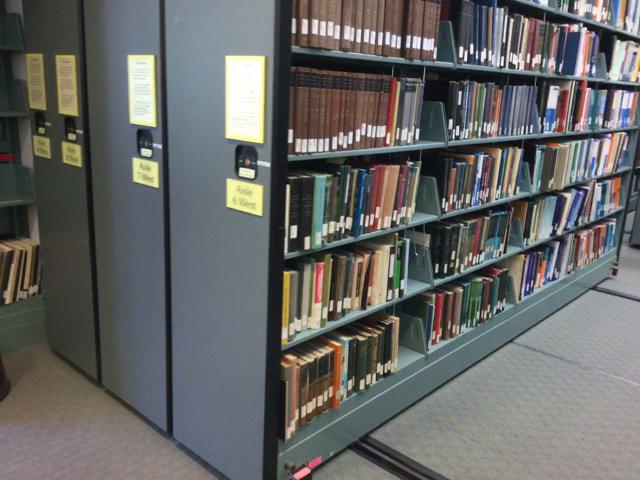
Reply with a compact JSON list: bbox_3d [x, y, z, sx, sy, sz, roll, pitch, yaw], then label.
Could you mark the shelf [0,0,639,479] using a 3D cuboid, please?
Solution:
[{"bbox_3d":[0.550,-0.730,3.340,1.910,2.580,3.750,14,18,42],"label":"shelf"}]
